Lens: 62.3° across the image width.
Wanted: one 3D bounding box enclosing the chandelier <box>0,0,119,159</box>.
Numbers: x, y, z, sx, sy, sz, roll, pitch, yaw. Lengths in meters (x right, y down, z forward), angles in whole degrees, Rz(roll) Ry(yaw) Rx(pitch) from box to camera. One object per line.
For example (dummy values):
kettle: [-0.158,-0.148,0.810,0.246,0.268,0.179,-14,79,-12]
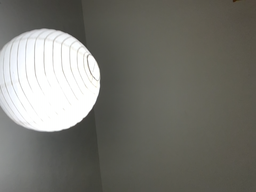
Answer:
chandelier: [-0.290,-0.020,0.660,0.370,0.450,0.290,75,13,-52]
